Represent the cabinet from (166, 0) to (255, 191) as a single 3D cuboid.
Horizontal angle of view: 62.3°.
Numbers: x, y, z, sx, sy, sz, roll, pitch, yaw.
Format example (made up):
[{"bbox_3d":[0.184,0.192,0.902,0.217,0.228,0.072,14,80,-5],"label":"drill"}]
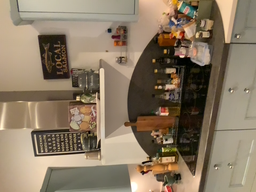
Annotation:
[{"bbox_3d":[0.960,0.130,1.790,0.600,0.890,2.650,-112,22,-67],"label":"cabinet"}]
